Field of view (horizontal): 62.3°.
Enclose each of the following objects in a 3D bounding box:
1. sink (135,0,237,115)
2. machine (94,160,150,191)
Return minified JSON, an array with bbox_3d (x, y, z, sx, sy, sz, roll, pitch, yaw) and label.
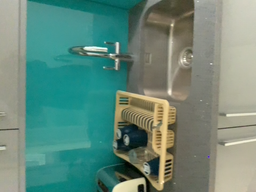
[{"bbox_3d":[0.250,-0.200,1.020,0.400,0.250,0.520,6,95,61],"label":"sink"},{"bbox_3d":[-0.040,0.530,1.050,0.220,0.190,0.330,7,96,61],"label":"machine"}]
